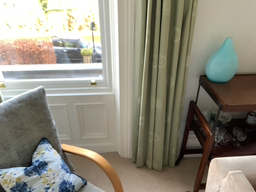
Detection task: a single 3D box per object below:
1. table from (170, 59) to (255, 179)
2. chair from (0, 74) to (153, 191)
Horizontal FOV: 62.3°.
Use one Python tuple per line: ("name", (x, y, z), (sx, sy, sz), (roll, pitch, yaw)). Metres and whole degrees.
("table", (0.780, 0.190, 1.690), (0.700, 0.860, 0.410), (-2, 33, -5))
("chair", (-0.420, 0.500, 1.230), (0.850, 0.880, 0.650), (21, 38, 28))
